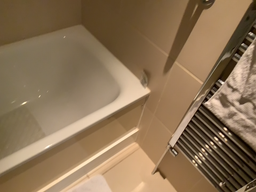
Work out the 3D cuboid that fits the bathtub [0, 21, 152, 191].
[{"bbox_3d":[-0.790,0.220,1.110,1.670,0.550,0.750,-26,59,-30],"label":"bathtub"}]
